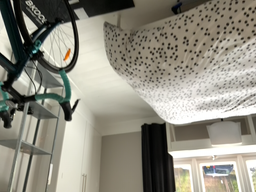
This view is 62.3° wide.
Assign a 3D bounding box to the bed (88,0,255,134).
[{"bbox_3d":[1.070,-0.290,1.980,2.230,0.640,1.700,-10,152,20],"label":"bed"}]

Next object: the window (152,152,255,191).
[{"bbox_3d":[1.470,1.770,3.130,2.160,1.770,0.110,-9,153,18],"label":"window"}]

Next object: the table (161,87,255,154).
[{"bbox_3d":[1.220,0.430,3.340,1.250,0.790,0.450,-11,152,22],"label":"table"}]
